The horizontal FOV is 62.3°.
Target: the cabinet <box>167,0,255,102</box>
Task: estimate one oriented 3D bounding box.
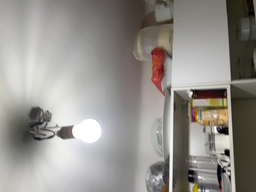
[{"bbox_3d":[0.590,-0.420,1.300,0.320,0.610,0.840,33,-123,-60],"label":"cabinet"}]
